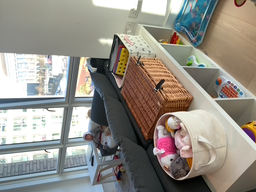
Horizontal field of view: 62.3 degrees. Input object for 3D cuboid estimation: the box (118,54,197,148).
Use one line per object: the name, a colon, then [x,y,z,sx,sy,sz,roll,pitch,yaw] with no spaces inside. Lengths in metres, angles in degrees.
box: [0.160,0.010,1.490,0.550,0.220,0.380,-119,36,-46]
